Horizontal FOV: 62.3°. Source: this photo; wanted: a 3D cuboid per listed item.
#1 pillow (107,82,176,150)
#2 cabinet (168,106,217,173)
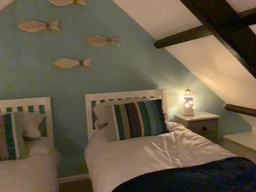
[{"bbox_3d":[0.130,0.170,1.960,0.480,0.380,0.180,-41,18,-11],"label":"pillow"},{"bbox_3d":[0.790,0.510,2.620,0.440,0.670,0.370,-5,8,-19],"label":"cabinet"}]
